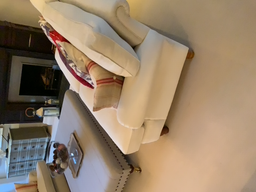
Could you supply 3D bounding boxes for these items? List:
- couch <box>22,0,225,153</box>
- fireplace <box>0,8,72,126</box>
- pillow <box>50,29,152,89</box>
[{"bbox_3d":[-0.380,-0.560,2.210,2.180,0.930,0.960,42,121,46],"label":"couch"},{"bbox_3d":[-2.110,-0.510,4.260,0.820,1.330,2.060,43,122,46],"label":"fireplace"},{"bbox_3d":[-0.180,-0.300,1.570,0.590,0.430,0.200,23,111,14],"label":"pillow"}]
